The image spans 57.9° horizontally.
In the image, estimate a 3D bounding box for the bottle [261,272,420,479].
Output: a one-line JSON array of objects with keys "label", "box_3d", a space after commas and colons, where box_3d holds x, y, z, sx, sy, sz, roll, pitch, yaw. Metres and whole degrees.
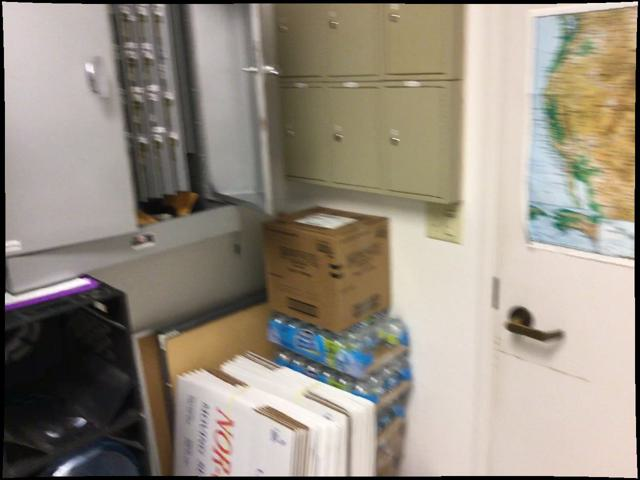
[{"label": "bottle", "box_3d": [0.070, 0.531, 1.940, 0.480, 0.731, 0.220, 13, 22, 42]}]

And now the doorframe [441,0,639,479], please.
[{"label": "doorframe", "box_3d": [0.799, -0.060, 1.150, 1.219, 1.621, 0.060, 13, 22, 42]}]
